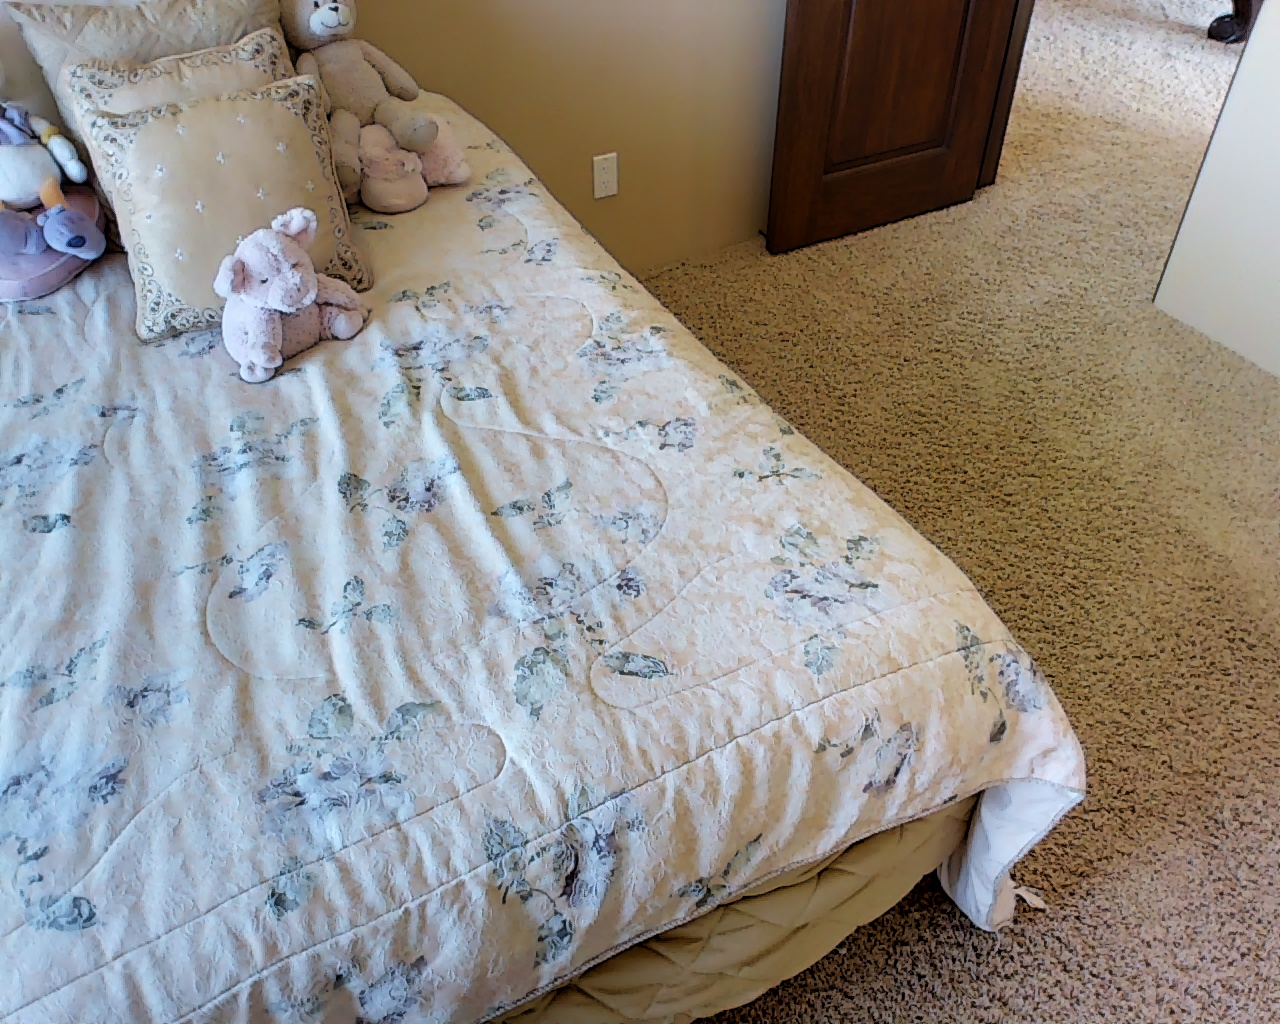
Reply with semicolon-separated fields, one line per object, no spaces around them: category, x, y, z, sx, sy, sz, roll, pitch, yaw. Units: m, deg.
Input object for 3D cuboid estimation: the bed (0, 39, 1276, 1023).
bed;-0.510;0.000;1.770;1.600;0.670;2.070;-20;46;-22
